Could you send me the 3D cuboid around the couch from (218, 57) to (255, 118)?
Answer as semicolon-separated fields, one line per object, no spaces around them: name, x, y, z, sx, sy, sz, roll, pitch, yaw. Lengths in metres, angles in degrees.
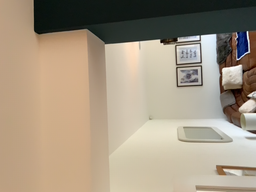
couch;2.660;-0.180;5.040;0.810;0.740;1.180;-79;-18;-47

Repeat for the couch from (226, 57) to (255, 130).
couch;2.440;-0.050;3.980;1.340;0.750;1.170;0;-93;-78

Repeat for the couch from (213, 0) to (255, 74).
couch;2.640;-1.500;5.220;1.170;0.750;1.780;0;-92;-78
